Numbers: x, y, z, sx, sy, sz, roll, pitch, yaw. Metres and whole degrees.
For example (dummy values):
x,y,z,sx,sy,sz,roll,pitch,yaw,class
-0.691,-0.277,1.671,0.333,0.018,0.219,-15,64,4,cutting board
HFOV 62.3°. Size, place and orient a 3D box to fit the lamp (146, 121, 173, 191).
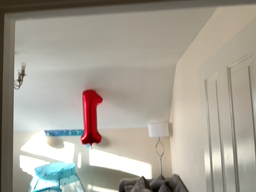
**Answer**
x,y,z,sx,sy,sz,roll,pitch,yaw,class
0.540,1.210,3.700,0.380,1.520,0.400,-2,-5,2,lamp
